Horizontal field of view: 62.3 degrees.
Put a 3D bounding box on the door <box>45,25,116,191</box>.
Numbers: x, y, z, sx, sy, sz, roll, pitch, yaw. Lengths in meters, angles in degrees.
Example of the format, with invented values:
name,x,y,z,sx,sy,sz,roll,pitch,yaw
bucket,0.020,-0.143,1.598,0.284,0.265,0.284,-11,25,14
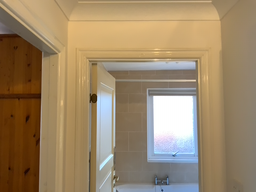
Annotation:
name,x,y,z,sx,sy,sz,roll,pitch,yaw
door,-0.280,0.750,1.630,0.200,2.210,1.070,-1,-3,6
